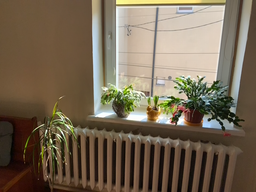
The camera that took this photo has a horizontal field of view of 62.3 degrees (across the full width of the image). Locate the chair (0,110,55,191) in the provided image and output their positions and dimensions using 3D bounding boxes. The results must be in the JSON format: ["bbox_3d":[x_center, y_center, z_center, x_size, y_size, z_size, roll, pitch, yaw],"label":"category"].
[{"bbox_3d":[-1.180,0.620,1.920,0.740,0.800,0.600,4,15,11],"label":"chair"}]
